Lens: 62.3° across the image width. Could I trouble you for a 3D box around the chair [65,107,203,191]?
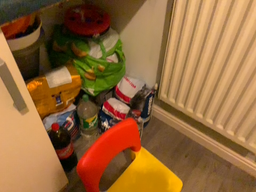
[{"bbox_3d":[0.020,0.360,0.870,0.330,0.420,0.330,33,54,26],"label":"chair"}]
